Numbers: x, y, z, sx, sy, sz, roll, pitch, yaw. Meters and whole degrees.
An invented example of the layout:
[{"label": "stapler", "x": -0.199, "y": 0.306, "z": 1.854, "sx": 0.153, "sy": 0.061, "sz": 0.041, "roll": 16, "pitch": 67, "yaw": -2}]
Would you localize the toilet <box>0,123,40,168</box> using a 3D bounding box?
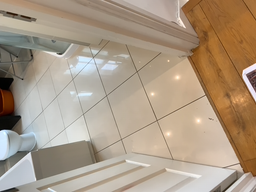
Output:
[{"label": "toilet", "x": -1.680, "y": 0.680, "z": 2.710, "sx": 0.660, "sy": 0.780, "sz": 0.390, "roll": -33, "pitch": 68, "yaw": 39}]
